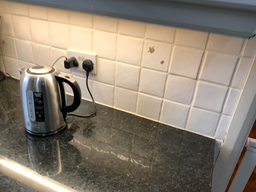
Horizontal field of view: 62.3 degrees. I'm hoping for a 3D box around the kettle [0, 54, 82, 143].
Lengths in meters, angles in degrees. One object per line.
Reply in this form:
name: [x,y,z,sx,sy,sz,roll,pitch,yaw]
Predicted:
kettle: [-0.300,0.000,0.760,0.200,0.230,0.170,14,29,15]
